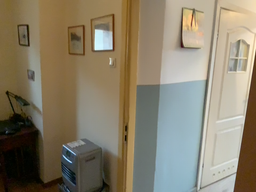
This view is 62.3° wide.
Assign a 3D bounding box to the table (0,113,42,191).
[{"bbox_3d":[-1.430,0.650,2.650,0.430,0.660,0.740,-8,15,-39],"label":"table"}]
